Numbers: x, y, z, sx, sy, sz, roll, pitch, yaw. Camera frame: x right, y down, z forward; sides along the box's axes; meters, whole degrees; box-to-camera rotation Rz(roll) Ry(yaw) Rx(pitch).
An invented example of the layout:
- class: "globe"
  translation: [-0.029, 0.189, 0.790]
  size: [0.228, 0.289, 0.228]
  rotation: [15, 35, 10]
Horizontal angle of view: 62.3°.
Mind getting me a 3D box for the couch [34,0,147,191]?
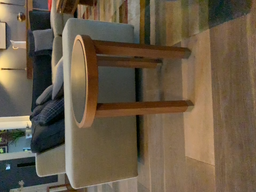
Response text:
- class: "couch"
  translation: [-0.860, 0.030, 2.780]
  size: [3.290, 0.680, 1.120]
  rotation: [178, 91, -66]
